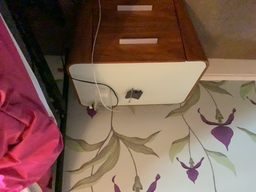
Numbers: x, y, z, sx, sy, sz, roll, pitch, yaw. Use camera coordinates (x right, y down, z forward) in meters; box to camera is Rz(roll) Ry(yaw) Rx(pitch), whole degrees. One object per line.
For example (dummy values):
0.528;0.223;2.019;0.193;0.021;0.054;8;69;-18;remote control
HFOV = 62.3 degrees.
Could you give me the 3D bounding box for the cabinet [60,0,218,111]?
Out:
0.010;-0.210;1.070;0.580;0.400;0.490;-1;154;-8;cabinet
